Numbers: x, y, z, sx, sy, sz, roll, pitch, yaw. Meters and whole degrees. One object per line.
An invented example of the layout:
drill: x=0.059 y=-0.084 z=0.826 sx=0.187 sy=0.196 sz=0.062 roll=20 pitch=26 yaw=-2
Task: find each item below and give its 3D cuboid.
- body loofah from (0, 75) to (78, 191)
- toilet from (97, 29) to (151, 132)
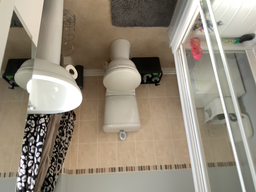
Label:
body loofah: x=-0.630 y=0.380 z=1.680 sx=0.340 sy=0.890 sz=0.650 roll=-1 pitch=158 yaw=-6
toilet: x=-0.070 y=-0.120 z=2.110 sx=0.420 sy=0.800 sz=0.660 roll=-1 pitch=158 yaw=-4
